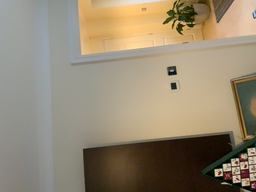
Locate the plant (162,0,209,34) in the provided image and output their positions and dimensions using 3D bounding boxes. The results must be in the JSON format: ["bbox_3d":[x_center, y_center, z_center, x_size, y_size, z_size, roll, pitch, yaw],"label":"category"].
[{"bbox_3d":[1.020,-1.470,3.820,0.430,0.710,0.590,-93,-4,-72],"label":"plant"}]
